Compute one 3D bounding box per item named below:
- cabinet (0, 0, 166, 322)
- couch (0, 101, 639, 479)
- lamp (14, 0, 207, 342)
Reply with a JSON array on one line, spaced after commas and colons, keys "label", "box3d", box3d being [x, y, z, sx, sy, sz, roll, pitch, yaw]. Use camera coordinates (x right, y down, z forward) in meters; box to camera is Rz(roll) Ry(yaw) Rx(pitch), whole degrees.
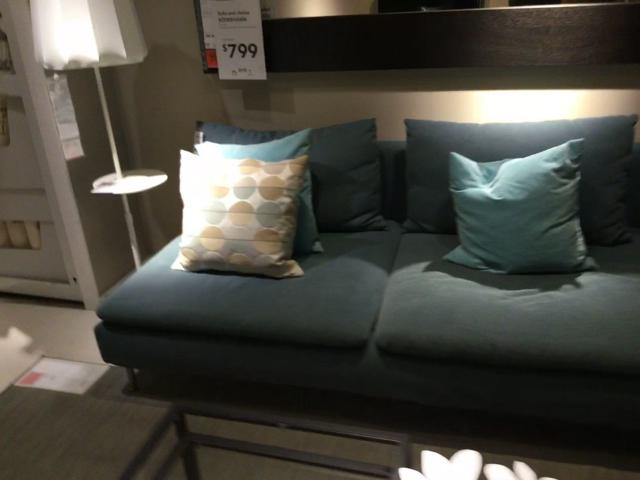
[{"label": "cabinet", "box3d": [-1.150, -0.450, 2.490, 0.590, 1.470, 0.500, 6, 23, 18]}, {"label": "couch", "box3d": [0.560, 0.120, 1.680, 2.800, 0.780, 1.480, 5, 23, 16]}, {"label": "lamp", "box3d": [-0.780, -0.350, 2.300, 0.330, 1.420, 0.460, 6, 23, 18]}]
